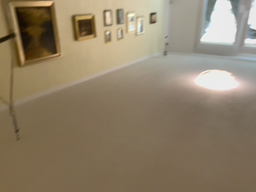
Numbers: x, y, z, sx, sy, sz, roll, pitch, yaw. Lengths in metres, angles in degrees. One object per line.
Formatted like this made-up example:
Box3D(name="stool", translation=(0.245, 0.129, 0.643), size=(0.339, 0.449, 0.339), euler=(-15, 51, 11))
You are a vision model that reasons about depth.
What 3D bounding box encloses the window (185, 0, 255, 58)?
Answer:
Box3D(name="window", translation=(2.040, -1.460, 3.780), size=(1.930, 1.470, 0.170), euler=(15, -153, 32))
